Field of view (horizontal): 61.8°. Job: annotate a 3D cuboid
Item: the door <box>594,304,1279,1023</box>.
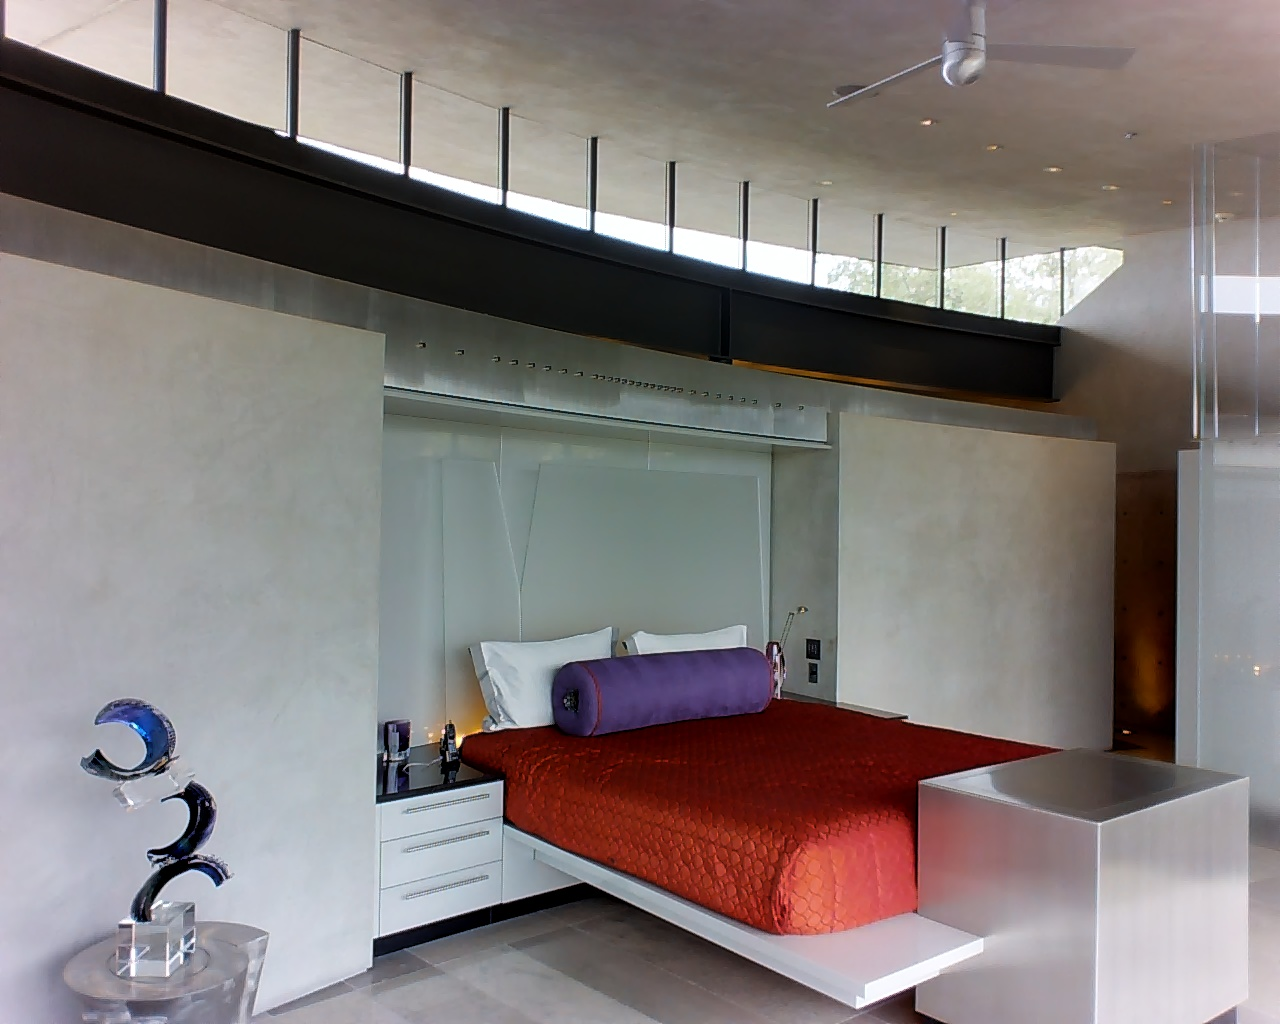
[{"bbox_3d":[1.300,0.690,3.650,3.039,2.681,0.250,2,-5,30],"label":"door"}]
